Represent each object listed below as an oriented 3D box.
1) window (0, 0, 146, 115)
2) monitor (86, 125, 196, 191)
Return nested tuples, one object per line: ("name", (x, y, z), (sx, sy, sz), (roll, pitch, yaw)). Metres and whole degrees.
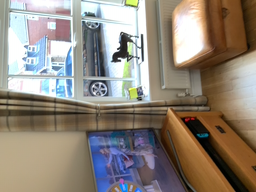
("window", (-0.640, -0.560, 2.210), (0.230, 1.570, 1.440), (151, 117, -68))
("monitor", (0.110, 0.630, 1.540), (1.140, 0.680, 0.070), (-117, 33, -52))
